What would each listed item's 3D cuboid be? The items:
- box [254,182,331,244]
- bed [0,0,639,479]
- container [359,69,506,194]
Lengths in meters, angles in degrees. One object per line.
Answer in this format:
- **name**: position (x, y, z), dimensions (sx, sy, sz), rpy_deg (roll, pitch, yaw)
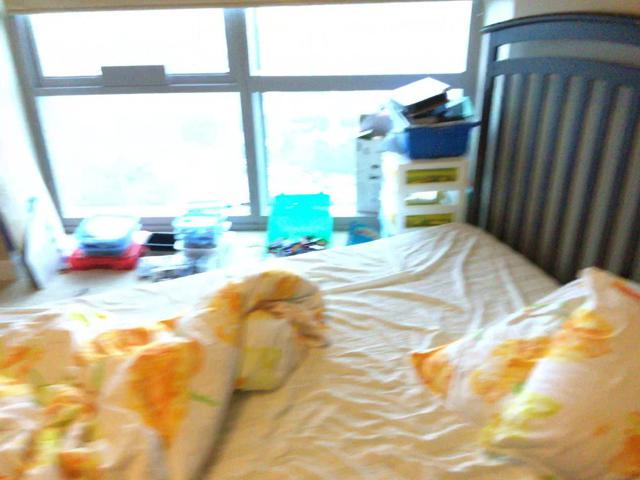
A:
- **box**: position (-0.140, -0.150, 3.060), dimensions (0.380, 0.200, 0.340), rpy_deg (-1, 28, -2)
- **bed**: position (-0.080, 0.140, 1.430), dimensions (2.050, 1.270, 1.630), rpy_deg (-8, 29, -15)
- **container**: position (0.440, -0.470, 2.410), dimensions (0.410, 0.360, 0.460), rpy_deg (-8, 29, -15)
